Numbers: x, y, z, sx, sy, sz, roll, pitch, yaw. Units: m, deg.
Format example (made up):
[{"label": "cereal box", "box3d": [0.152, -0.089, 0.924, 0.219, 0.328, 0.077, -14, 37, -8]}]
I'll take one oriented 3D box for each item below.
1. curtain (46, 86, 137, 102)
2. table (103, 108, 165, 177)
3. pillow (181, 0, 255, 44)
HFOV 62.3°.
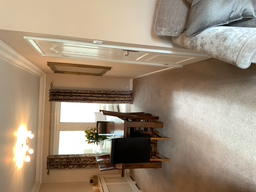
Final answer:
[{"label": "curtain", "box3d": [-0.910, -0.040, 5.580, 0.360, 2.280, 0.300, -164, 77, -75]}, {"label": "table", "box3d": [0.000, 0.840, 4.530, 1.950, 0.770, 1.000, -178, 90, -75]}, {"label": "pillow", "box3d": [0.640, -0.720, 1.540, 0.450, 0.300, 0.500, 141, 130, -71]}]
